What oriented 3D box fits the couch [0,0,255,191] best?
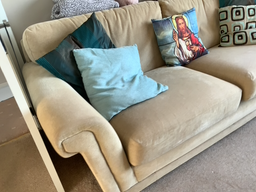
[{"bbox_3d":[0.450,-0.270,1.630,2.460,0.900,1.100,-22,34,-23],"label":"couch"}]

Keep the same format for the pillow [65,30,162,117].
[{"bbox_3d":[-0.090,-0.150,1.360,0.480,0.440,0.180,-16,-1,-25],"label":"pillow"}]

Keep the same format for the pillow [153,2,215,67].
[{"bbox_3d":[0.450,-0.480,1.660,0.440,0.390,0.140,-19,19,-20],"label":"pillow"}]
